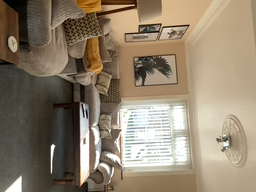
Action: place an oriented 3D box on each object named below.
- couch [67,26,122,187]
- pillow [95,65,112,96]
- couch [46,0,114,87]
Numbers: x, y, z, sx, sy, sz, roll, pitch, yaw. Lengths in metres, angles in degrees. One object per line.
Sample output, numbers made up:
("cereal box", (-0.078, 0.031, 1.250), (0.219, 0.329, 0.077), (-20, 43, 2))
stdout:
("couch", (-0.660, 0.210, 4.550), (1.250, 0.870, 2.940), (75, 12, -85))
("pillow", (-0.540, -0.350, 4.700), (0.270, 0.320, 0.620), (85, 2, -62))
("couch", (-0.730, -0.790, 3.520), (0.980, 0.870, 1.120), (75, 12, -85))
